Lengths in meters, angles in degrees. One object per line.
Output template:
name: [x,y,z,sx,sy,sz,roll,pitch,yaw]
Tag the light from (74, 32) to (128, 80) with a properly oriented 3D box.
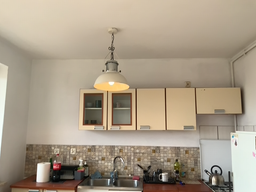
light: [-0.260,-0.420,2.360,0.670,0.430,0.450,-47,-43,-80]
